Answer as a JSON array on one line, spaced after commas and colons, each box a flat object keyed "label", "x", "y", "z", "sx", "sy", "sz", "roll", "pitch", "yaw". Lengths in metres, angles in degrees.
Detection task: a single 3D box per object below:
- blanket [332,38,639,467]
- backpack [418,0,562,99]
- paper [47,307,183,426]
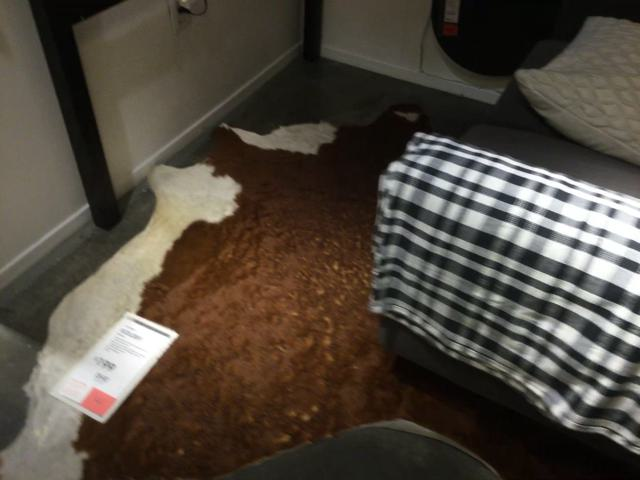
[{"label": "blanket", "x": 0.460, "y": -0.040, "z": 1.150, "sx": 0.630, "sy": 0.360, "sz": 0.660, "roll": 21, "pitch": 47, "yaw": 22}, {"label": "backpack", "x": 0.650, "y": -0.820, "z": 2.250, "sx": 0.470, "sy": 0.400, "sz": 0.150, "roll": 21, "pitch": 47, "yaw": 22}, {"label": "paper", "x": -0.530, "y": 0.320, "z": 1.520, "sx": 0.190, "sy": 0.030, "sz": 0.300, "roll": 18, "pitch": 46, "yaw": 19}]
